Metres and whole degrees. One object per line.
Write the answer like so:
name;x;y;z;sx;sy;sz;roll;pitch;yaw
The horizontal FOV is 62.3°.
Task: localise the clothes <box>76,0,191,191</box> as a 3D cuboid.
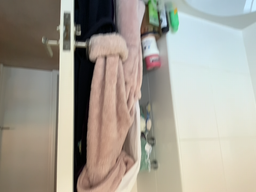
clothes;-0.060;0.030;1.090;0.400;1.620;0.600;0;167;-14
